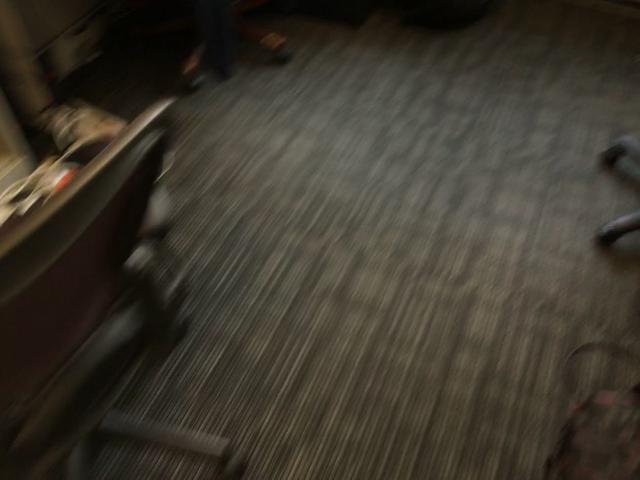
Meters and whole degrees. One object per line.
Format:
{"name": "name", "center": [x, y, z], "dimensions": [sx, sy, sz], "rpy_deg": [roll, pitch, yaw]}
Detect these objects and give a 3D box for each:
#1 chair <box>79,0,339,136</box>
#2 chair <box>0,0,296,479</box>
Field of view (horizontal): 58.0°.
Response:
{"name": "chair", "center": [-0.370, -1.040, 1.920], "dimensions": [0.690, 1.060, 0.630], "rpy_deg": [19, 51, 16]}
{"name": "chair", "center": [-0.510, 0.130, 1.050], "dimensions": [0.620, 0.960, 0.690], "rpy_deg": [28, 54, 22]}
